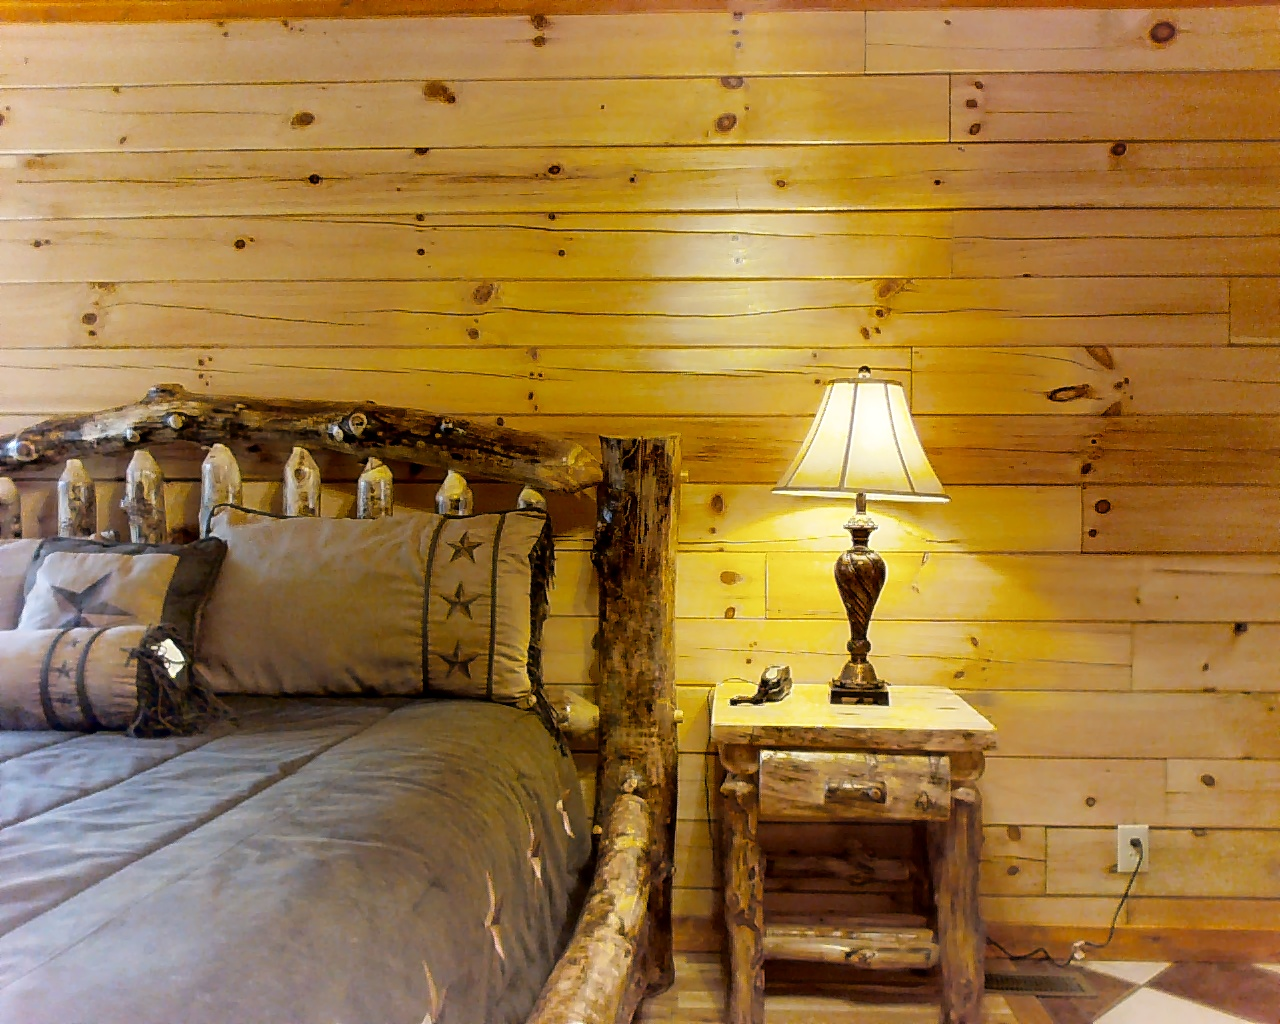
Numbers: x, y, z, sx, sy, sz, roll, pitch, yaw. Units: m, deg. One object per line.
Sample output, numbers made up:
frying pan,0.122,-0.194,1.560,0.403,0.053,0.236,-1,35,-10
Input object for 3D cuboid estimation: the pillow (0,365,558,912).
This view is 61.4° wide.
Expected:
pillow,-1.160,0.160,2.440,1.870,0.550,0.360,27,1,2

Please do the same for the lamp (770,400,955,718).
lamp,0.520,0.100,2.600,0.390,0.700,0.390,1,0,7

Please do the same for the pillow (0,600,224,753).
pillow,-1.220,0.310,2.120,0.680,0.240,0.300,1,0,2
